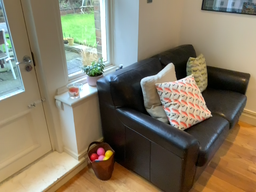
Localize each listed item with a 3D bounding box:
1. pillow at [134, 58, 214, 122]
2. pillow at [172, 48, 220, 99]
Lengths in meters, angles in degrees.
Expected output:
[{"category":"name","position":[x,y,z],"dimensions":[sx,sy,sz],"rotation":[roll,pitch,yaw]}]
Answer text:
[{"category":"pillow","position":[0.410,-0.060,1.880],"dimensions":[0.560,0.470,0.190],"rotation":[-27,78,-42]},{"category":"pillow","position":[0.750,-0.260,2.330],"dimensions":[0.180,0.380,0.530],"rotation":[36,42,19]}]
